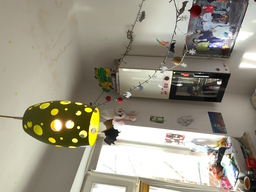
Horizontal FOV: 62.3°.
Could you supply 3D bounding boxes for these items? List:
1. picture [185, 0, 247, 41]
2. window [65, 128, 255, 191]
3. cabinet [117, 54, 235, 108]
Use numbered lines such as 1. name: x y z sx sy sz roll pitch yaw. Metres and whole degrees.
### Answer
1. picture: 0.880 -0.830 2.150 0.040 0.500 0.530 -78 -8 -48
2. window: 0.300 1.120 1.750 1.910 1.770 0.250 -77 -9 -54
3. cabinet: 0.520 -0.180 2.540 0.310 1.260 0.430 -78 -8 -50
